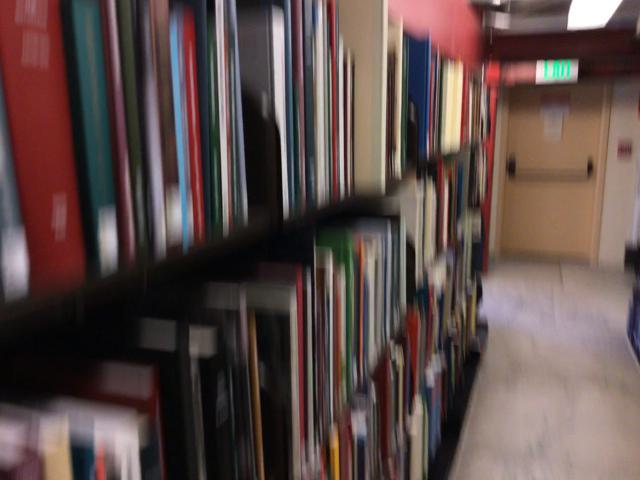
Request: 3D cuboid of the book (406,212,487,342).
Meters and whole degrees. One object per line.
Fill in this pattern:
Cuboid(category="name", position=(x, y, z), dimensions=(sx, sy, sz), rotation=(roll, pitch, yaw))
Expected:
Cuboid(category="book", position=(0.610, 0.140, 2.710), dimensions=(0.220, 0.420, 0.700), rotation=(7, 14, 21))

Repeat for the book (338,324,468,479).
Cuboid(category="book", position=(0.190, 0.750, 1.590), dimensions=(0.140, 0.480, 1.710), rotation=(7, 14, 21))

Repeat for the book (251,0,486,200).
Cuboid(category="book", position=(0.260, -0.410, 1.730), dimensions=(0.260, 0.370, 1.450), rotation=(7, 14, 21))

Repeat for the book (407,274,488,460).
Cuboid(category="book", position=(0.610, 0.520, 2.660), dimensions=(0.160, 0.480, 0.960), rotation=(7, 14, 21))

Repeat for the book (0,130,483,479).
Cuboid(category="book", position=(0.030, 0.040, 1.330), dimensions=(0.340, 0.510, 2.420), rotation=(7, 14, 21))

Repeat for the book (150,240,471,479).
Cuboid(category="book", position=(0.170, 0.380, 1.650), dimensions=(0.240, 0.410, 1.720), rotation=(7, 14, 21))
